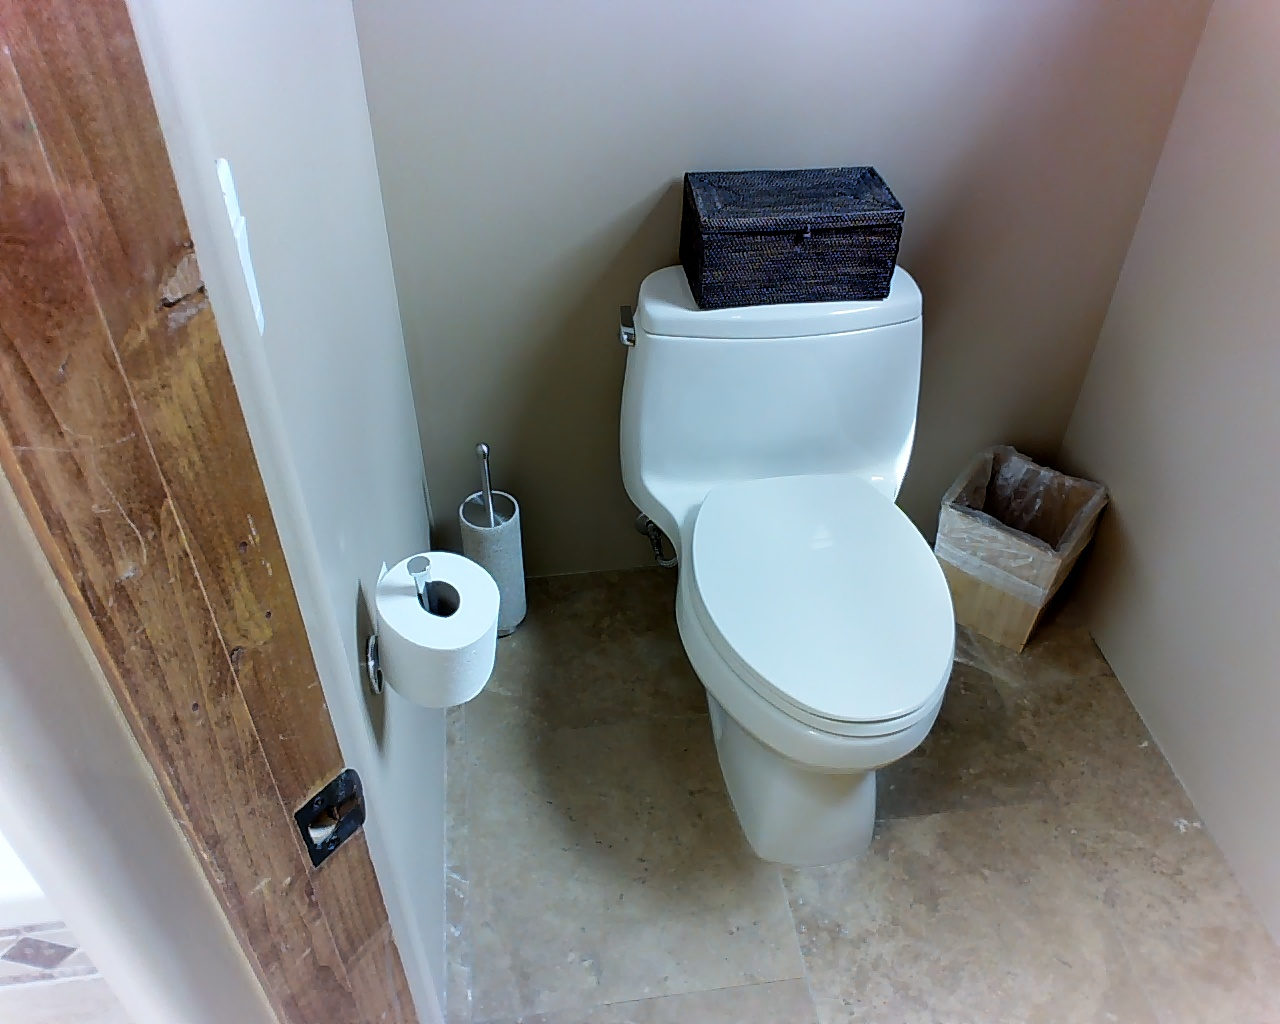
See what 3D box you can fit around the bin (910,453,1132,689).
[{"bbox_3d":[0.670,0.100,1.900,0.250,0.250,0.240,27,47,26],"label":"bin"}]
